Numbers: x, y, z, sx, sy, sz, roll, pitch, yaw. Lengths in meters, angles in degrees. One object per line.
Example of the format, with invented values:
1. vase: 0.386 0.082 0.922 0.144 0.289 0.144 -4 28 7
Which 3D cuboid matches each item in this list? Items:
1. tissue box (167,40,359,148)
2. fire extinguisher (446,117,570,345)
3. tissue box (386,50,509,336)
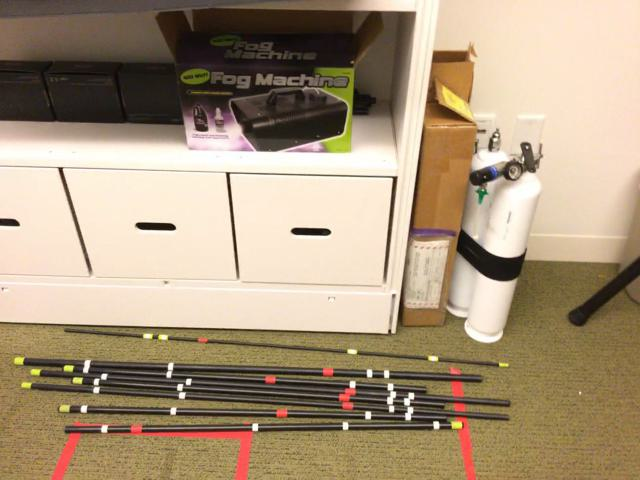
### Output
1. tissue box: -0.120 -0.330 1.300 0.390 0.190 0.150 -1 36 -3
2. fire extinguisher: 0.460 -0.010 1.500 0.140 0.560 0.230 -1 36 -3
3. tissue box: 0.300 -0.100 1.510 0.160 0.700 0.280 -1 36 -3
